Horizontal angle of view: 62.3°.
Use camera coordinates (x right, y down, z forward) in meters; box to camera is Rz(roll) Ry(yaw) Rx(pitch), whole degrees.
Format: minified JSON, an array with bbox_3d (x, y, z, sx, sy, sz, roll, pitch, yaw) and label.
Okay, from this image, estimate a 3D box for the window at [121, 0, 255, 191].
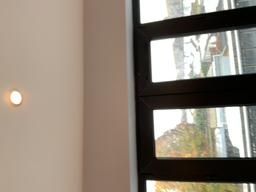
[{"bbox_3d":[1.060,0.050,1.520,0.190,2.170,2.940,32,-120,-73],"label":"window"}]
